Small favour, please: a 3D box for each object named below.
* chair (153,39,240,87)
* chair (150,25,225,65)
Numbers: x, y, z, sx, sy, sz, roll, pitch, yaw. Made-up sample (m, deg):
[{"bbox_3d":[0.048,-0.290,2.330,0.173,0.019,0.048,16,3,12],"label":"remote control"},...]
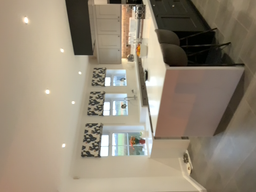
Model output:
[{"bbox_3d":[0.840,-0.430,2.760,0.410,0.920,0.460,93,176,-49],"label":"chair"},{"bbox_3d":[0.820,-0.750,3.110,0.430,0.920,0.410,-94,4,-49],"label":"chair"}]
